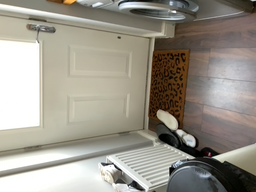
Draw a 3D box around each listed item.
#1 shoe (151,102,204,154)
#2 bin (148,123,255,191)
[{"bbox_3d":[0.370,0.230,1.670,0.490,0.050,0.140,43,126,45],"label":"shoe"},{"bbox_3d":[0.500,0.340,0.930,0.490,0.650,0.280,8,99,55],"label":"bin"}]
